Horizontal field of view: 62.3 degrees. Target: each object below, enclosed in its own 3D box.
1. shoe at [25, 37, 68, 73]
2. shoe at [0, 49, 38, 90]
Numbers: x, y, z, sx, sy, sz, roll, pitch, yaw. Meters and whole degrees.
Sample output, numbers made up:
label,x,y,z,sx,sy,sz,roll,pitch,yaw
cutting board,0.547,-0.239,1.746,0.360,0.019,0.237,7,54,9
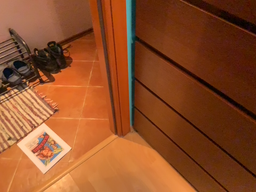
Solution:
label,x,y,z,sx,sy,sz,roll,pitch,yaw
shoe,-0.700,-0.360,1.820,0.230,0.110,0.260,-36,58,-25
shoe,-0.930,-0.220,1.710,0.280,0.130,0.210,-36,58,-25
